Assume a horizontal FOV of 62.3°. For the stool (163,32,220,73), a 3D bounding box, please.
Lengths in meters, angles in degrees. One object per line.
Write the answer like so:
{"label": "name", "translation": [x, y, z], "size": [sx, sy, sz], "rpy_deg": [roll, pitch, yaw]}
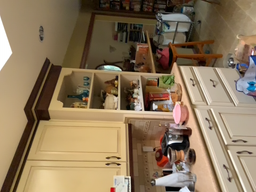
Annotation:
{"label": "stool", "translation": [1.010, -0.710, 3.500], "size": [0.430, 0.730, 0.460], "rpy_deg": [99, 172, -45]}
